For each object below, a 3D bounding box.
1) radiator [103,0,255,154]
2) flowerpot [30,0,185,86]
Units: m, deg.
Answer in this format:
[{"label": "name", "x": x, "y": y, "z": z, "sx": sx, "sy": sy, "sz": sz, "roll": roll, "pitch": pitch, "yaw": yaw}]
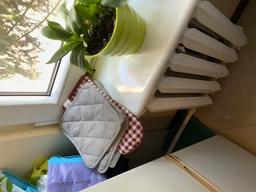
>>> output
[{"label": "radiator", "x": 0.280, "y": -0.080, "z": 0.930, "sx": 0.190, "sy": 0.630, "sz": 0.550, "roll": 40, "pitch": 114, "yaw": 32}, {"label": "flowerpot", "x": -0.050, "y": -0.180, "z": 0.540, "sx": 0.210, "sy": 0.260, "sz": 0.230, "roll": 35, "pitch": 112, "yaw": 34}]
